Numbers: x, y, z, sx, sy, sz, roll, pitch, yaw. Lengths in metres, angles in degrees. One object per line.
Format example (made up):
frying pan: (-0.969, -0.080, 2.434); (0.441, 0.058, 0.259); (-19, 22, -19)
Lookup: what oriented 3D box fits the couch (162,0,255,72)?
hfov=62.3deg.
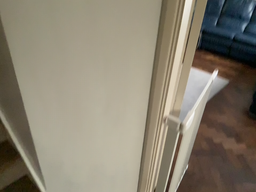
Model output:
couch: (1.900, -1.330, 4.020); (2.210, 0.960, 0.990); (30, 42, 34)
